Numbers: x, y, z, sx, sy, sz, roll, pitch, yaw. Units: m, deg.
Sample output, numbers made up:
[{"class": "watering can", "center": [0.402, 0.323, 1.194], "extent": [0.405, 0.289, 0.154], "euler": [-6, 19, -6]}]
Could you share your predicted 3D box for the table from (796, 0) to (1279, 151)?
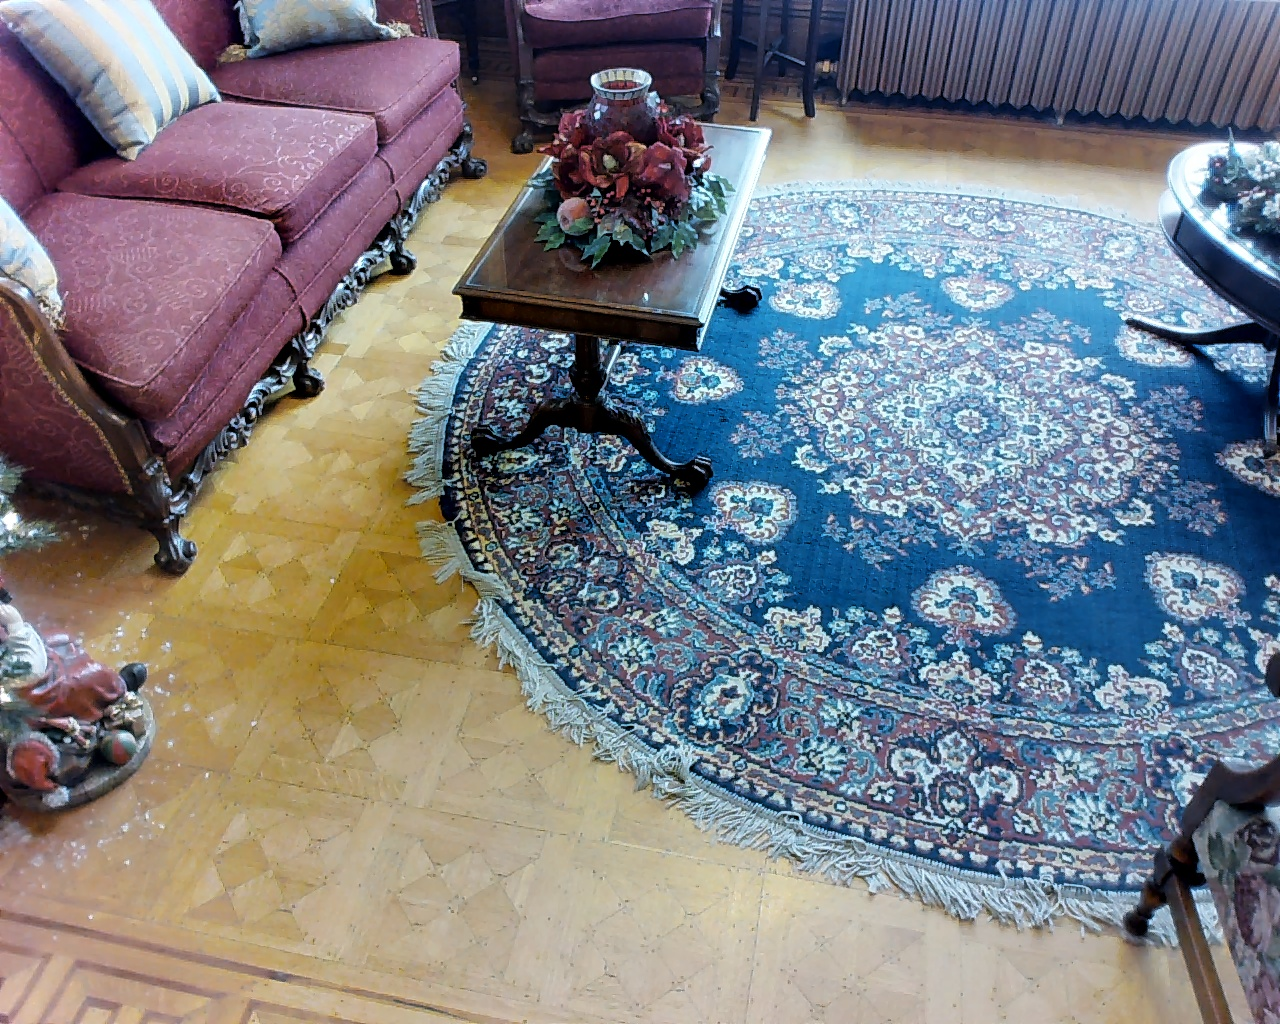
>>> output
[{"class": "table", "center": [1.560, -1.680, 3.720], "extent": [1.940, 0.600, 0.430], "euler": [8, 42, 8]}]

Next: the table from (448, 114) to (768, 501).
[{"class": "table", "center": [-0.030, -0.520, 2.540], "extent": [0.530, 0.450, 0.900], "euler": [8, 42, 8]}]

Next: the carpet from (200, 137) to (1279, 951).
[{"class": "carpet", "center": [0.760, -0.270, 2.610], "extent": [2.570, 0.020, 2.630], "euler": [7, 42, 7]}]

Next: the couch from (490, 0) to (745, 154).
[{"class": "couch", "center": [-0.110, -1.800, 3.570], "extent": [0.780, 0.910, 0.750], "euler": [-5, 42, -6]}]

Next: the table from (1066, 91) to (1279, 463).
[{"class": "table", "center": [1.570, -0.540, 2.510], "extent": [0.540, 0.500, 0.900], "euler": [-15, 44, -16]}]

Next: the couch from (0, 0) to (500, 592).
[{"class": "couch", "center": [-1.110, -0.930, 2.570], "extent": [0.940, 1.010, 1.980], "euler": [8, 42, 8]}]
